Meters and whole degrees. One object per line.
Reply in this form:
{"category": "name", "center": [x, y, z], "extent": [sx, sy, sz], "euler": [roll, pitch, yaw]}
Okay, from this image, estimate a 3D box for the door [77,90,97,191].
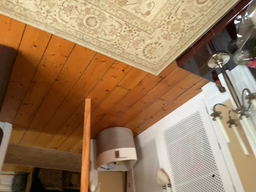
{"category": "door", "center": [-0.290, 1.040, 1.530], "extent": [0.120, 2.050, 0.870], "euler": [0, 144, -9]}
